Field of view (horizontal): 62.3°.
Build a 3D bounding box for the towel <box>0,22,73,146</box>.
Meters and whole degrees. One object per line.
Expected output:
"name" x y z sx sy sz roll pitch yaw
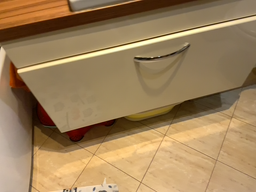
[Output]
"towel" -0.450 -0.010 1.070 0.150 0.630 0.270 -14 56 -7
